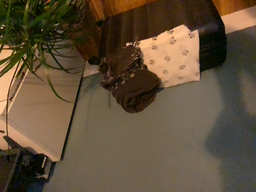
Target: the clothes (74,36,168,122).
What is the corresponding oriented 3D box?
[{"bbox_3d":[-0.020,-0.060,1.030,0.320,0.170,0.310,-18,136,20],"label":"clothes"}]
